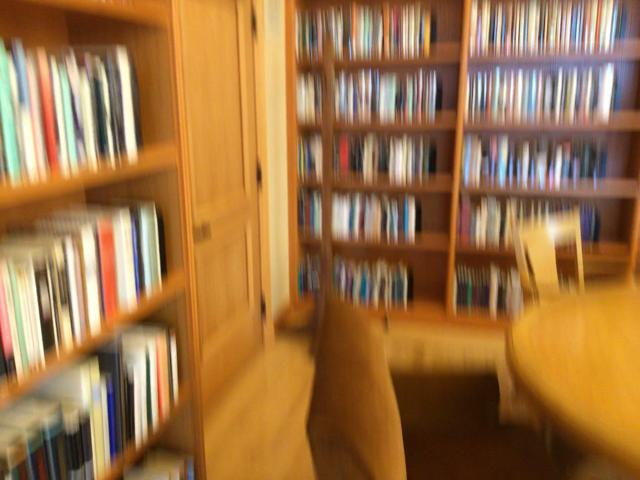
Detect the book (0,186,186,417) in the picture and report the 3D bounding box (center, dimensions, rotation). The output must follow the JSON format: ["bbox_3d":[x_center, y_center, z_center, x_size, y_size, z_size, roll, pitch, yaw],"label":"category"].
[{"bbox_3d":[-0.570,0.090,1.260,0.170,0.310,0.800,1,13,14],"label":"book"}]

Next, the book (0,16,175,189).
[{"bbox_3d":[-0.530,-0.270,1.150,0.100,0.280,0.760,1,13,14],"label":"book"}]

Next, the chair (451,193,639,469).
[{"bbox_3d":[1.110,0.310,2.570,0.770,0.900,0.680,-11,15,-35],"label":"chair"}]

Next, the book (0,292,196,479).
[{"bbox_3d":[-0.580,0.430,1.360,0.200,0.380,0.810,1,13,14],"label":"book"}]

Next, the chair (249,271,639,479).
[{"bbox_3d":[0.330,0.660,1.510,0.800,0.950,0.870,-1,13,6],"label":"chair"}]
